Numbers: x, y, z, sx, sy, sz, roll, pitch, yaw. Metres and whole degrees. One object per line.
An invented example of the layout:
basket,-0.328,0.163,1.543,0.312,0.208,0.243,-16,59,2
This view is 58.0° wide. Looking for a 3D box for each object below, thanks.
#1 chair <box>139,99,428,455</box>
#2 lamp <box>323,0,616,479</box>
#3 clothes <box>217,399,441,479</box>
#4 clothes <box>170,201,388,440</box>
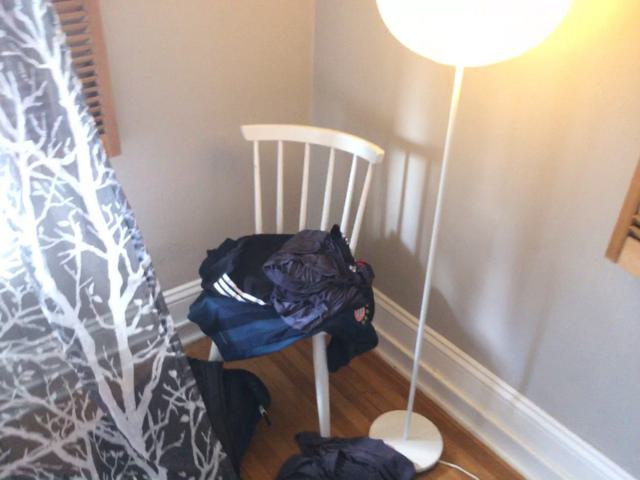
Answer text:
chair,-0.080,0.090,1.770,0.640,0.830,0.530,10,32,12
lamp,0.290,-0.010,1.380,0.370,1.450,0.330,-20,38,-34
clothes,0.000,0.690,1.560,0.550,0.080,0.360,-20,38,-34
clothes,-0.090,0.200,1.700,0.450,0.370,0.530,11,32,12
